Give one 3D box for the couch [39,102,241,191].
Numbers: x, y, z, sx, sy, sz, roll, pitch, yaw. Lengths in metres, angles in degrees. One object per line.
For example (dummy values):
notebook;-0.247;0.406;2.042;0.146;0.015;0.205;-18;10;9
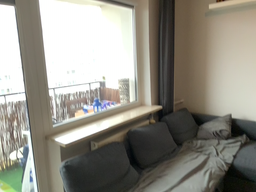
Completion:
couch;0.430;0.720;2.330;0.980;0.760;2.360;6;14;37
